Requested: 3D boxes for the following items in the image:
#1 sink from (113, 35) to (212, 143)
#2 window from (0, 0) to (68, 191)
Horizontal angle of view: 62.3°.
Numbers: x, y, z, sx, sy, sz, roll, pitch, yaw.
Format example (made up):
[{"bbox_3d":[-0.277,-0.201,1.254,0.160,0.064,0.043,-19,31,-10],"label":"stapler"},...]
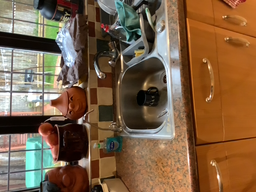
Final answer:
[{"bbox_3d":[0.130,0.000,1.090,0.520,0.190,0.420,-14,77,59],"label":"sink"},{"bbox_3d":[-0.820,-0.110,1.200,0.070,0.920,1.300,-14,77,59],"label":"window"}]
